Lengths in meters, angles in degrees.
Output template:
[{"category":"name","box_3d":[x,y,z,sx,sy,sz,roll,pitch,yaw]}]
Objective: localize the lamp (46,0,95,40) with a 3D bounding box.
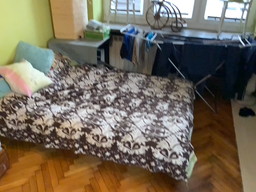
[{"category":"lamp","box_3d":[-0.790,-1.180,3.020,0.410,0.580,0.600,9,30,11]}]
